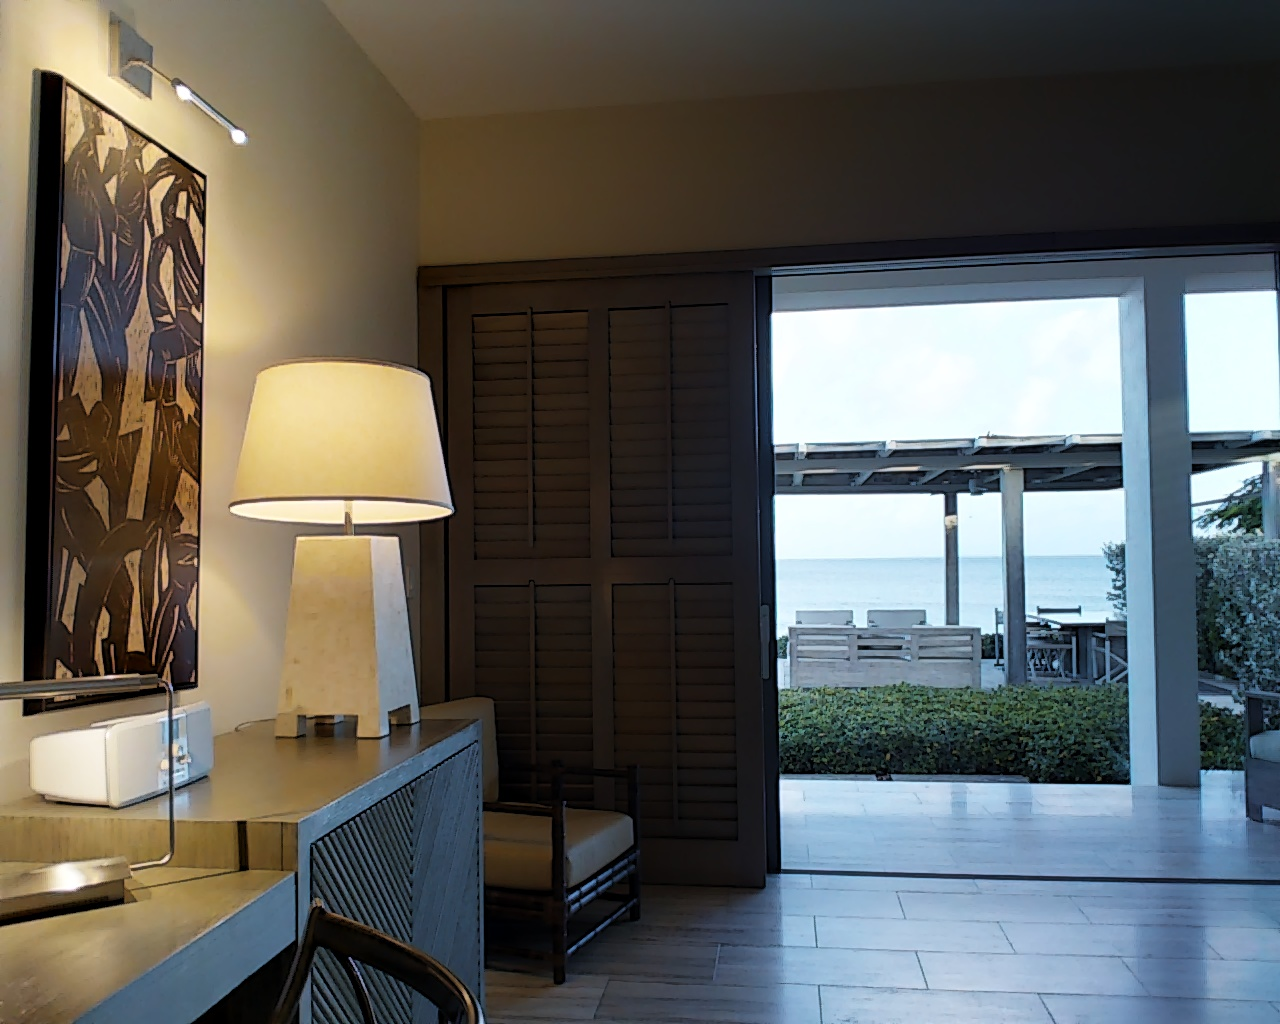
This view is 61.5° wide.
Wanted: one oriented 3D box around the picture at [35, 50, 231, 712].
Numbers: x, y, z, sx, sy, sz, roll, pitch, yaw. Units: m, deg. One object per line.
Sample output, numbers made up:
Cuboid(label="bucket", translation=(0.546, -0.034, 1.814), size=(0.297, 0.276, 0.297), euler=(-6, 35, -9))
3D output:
Cuboid(label="picture", translation=(-1.090, -0.250, 2.370), size=(0.070, 1.280, 0.590), euler=(-1, -2, 9))

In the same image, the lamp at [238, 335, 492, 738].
Cuboid(label="lamp", translation=(-0.640, 0.060, 2.600), size=(0.430, 0.870, 0.500), euler=(-1, -2, 9))

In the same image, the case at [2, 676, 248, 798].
Cuboid(label="case", translation=(-0.900, 0.390, 1.920), size=(0.240, 0.150, 0.360), euler=(-1, -2, 7))
